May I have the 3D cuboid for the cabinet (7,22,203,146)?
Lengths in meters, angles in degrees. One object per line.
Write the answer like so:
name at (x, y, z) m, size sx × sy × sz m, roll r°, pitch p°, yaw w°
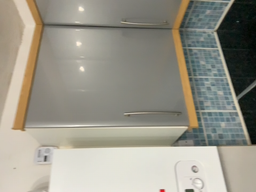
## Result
cabinet at (-0.100, -0.060, 1.160) m, size 0.300 × 0.820 × 0.590 m, roll 99°, pitch 170°, yaw -63°
